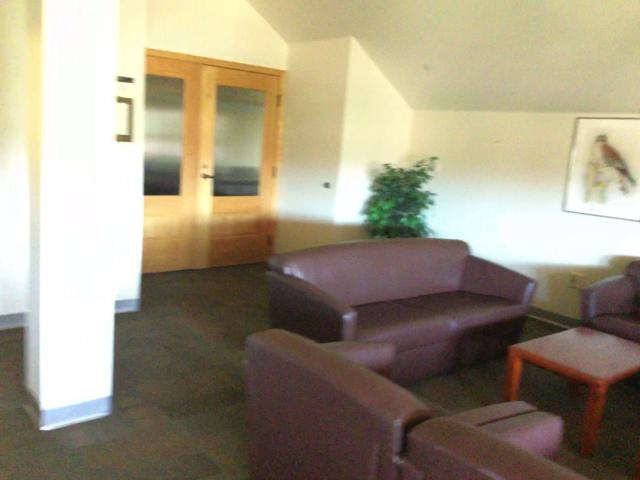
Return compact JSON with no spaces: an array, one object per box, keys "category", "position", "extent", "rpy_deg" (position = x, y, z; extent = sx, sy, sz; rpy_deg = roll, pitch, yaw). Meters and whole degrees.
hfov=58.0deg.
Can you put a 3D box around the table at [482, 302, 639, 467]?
[{"category":"table","position":[1.410,0.700,3.060],"extent":[0.740,0.470,0.710],"rpy_deg":[-4,15,-40]}]

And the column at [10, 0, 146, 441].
[{"category":"column","position":[-1.090,-0.070,2.560],"extent":[0.410,1.770,0.430],"rpy_deg":[-4,15,-40]}]
